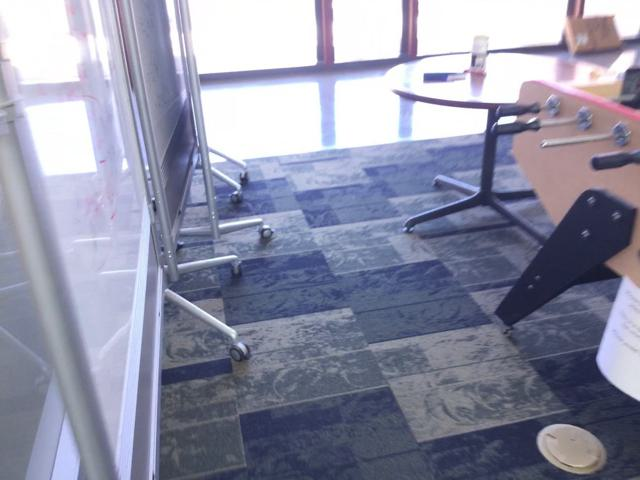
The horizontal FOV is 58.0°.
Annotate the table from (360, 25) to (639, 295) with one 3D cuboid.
[{"bbox_3d":[0.890,-0.470,2.790,1.090,0.760,1.140,-11,29,-5],"label":"table"}]

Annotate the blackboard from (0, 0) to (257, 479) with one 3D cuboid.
[{"bbox_3d":[-0.460,-0.150,1.340,0.280,1.730,1.410,-11,29,-5],"label":"blackboard"}]
